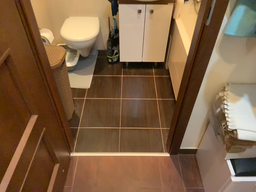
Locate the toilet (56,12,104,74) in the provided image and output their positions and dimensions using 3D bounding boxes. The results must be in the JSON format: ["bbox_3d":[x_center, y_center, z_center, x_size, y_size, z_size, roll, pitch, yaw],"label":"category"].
[{"bbox_3d":[-0.470,-0.560,2.230,0.370,0.440,0.490,0,46,-1],"label":"toilet"}]
